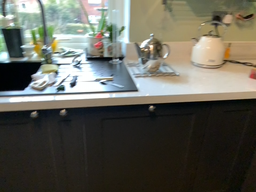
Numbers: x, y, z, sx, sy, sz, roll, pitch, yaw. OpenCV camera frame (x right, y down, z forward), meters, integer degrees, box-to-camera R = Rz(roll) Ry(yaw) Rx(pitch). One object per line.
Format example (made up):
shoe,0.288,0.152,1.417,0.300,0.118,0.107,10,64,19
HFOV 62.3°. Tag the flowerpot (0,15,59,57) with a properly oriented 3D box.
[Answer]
flowerpot,-0.650,-0.400,1.400,0.330,0.220,0.250,-3,26,-12
